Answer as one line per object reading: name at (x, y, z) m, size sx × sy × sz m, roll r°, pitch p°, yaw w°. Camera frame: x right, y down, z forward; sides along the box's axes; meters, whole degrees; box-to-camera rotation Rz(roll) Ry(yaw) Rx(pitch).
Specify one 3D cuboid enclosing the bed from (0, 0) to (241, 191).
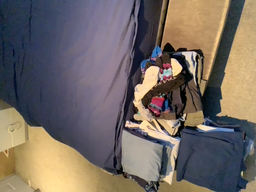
bed at (-0.610, -0.720, 1.580) m, size 2.560 × 0.510 × 2.430 m, roll 20°, pitch 114°, yaw 32°
